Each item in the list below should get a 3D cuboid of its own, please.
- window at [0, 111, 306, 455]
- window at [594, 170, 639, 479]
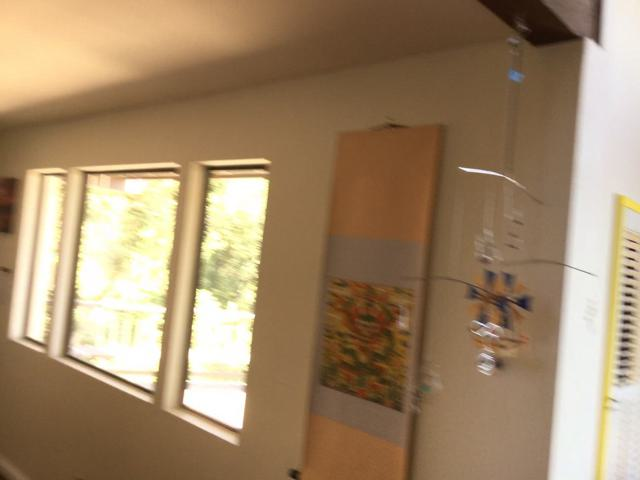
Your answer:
[{"bbox_3d":[-1.140,0.130,3.210,2.440,1.370,0.280,3,-6,42],"label":"window"},{"bbox_3d":[1.330,0.600,2.430,0.070,1.650,0.740,3,-6,41],"label":"window"}]
